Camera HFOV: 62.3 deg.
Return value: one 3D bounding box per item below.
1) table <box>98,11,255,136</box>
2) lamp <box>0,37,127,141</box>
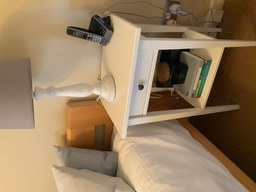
[{"bbox_3d":[0.240,-0.140,1.070,0.350,0.680,0.450,-130,41,-52],"label":"table"},{"bbox_3d":[-0.340,-0.050,0.850,0.280,0.580,0.290,-129,40,-51],"label":"lamp"}]
